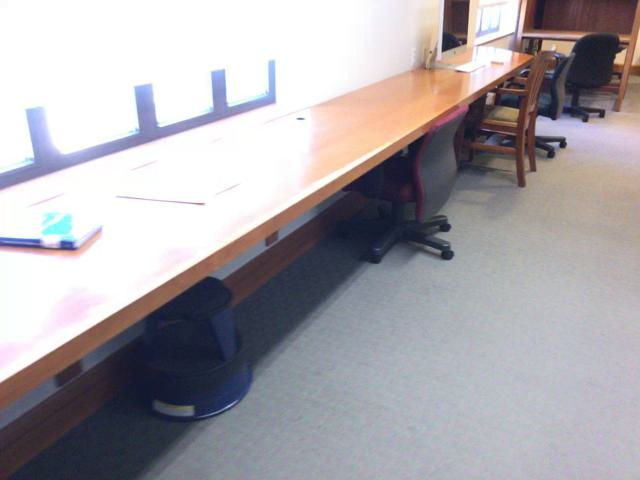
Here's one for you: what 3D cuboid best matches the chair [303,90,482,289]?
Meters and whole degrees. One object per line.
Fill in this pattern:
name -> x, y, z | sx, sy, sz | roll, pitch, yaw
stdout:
chair -> 0.370, -0.300, 2.930 | 0.670, 0.770, 0.660 | 12, 24, 21

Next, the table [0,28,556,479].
table -> -0.870, 0.500, 0.570 | 1.260, 1.050, 11.510 | 12, 24, 21
